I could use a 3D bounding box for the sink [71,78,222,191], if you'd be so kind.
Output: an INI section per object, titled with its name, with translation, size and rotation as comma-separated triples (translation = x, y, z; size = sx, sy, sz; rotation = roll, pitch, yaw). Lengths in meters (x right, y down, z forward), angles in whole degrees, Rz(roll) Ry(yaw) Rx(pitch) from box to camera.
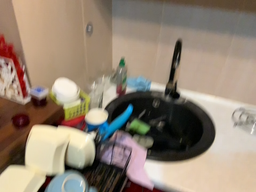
[sink]
translation = 0.120, 0.170, 1.020
size = 0.550, 0.200, 0.510
rotation = 15, 34, 18
